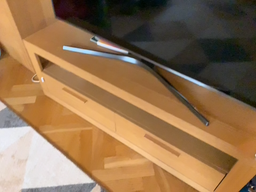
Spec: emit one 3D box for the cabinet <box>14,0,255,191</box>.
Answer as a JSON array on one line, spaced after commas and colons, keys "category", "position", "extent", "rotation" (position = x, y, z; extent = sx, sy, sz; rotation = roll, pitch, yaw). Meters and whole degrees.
[{"category": "cabinet", "position": [0.000, -0.060, 1.330], "extent": [1.470, 0.500, 0.530], "rotation": [33, 54, 27]}]
